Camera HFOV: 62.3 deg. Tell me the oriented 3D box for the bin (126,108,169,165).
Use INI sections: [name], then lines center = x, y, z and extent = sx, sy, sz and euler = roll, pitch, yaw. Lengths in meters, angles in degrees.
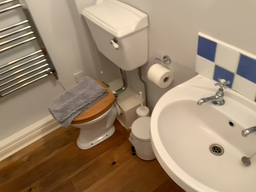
[bin]
center = 0.150, 0.300, 1.580
extent = 0.220, 0.290, 0.210
euler = -30, 47, -20
